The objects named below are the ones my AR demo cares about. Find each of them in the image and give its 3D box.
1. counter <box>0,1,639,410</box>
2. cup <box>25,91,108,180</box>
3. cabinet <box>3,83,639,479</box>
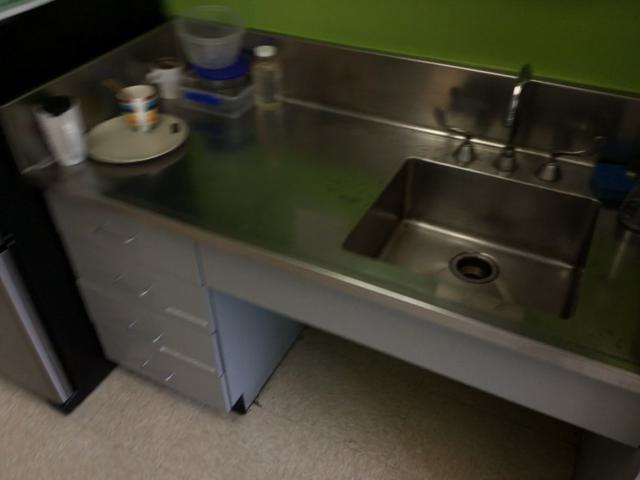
[{"bbox_3d":[0.030,-0.210,1.310,1.450,0.290,0.640,17,41,20],"label":"counter"},{"bbox_3d":[-0.600,-0.250,1.380,0.100,0.160,0.110,17,41,20],"label":"cup"},{"bbox_3d":[0.030,0.190,1.610,1.450,0.790,0.650,17,41,20],"label":"cabinet"}]
